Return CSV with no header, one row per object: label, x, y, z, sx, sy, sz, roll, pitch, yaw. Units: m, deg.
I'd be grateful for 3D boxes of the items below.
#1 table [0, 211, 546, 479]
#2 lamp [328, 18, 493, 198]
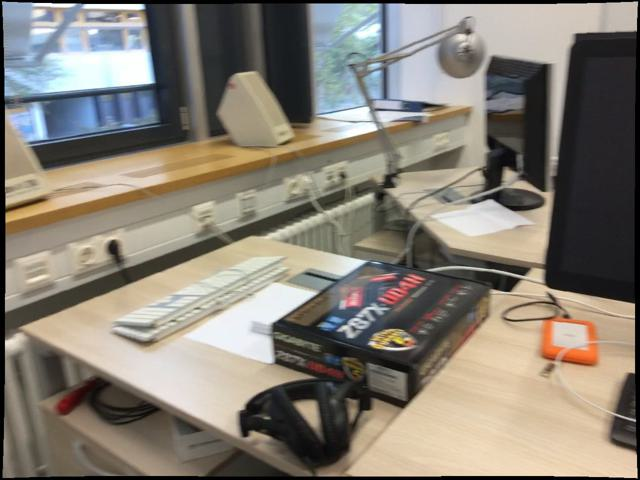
table,-0.090,0.250,1.260,0.899,0.310,0.750,12,24,33
lamp,0.310,-0.470,1.970,0.380,0.520,0.430,12,24,33
